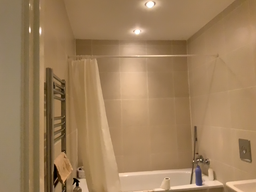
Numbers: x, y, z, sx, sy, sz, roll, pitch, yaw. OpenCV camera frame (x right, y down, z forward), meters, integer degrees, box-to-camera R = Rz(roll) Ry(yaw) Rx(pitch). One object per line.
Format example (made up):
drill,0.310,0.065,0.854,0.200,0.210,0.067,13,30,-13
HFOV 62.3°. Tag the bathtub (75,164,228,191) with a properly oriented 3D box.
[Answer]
bathtub,0.250,1.280,2.620,1.660,0.580,0.740,-2,-5,-6
